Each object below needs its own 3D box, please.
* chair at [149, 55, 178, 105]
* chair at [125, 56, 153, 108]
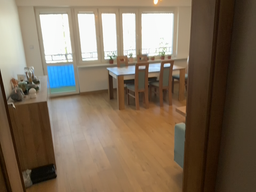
[{"bbox_3d":[0.780,-0.380,4.790,0.430,1.010,0.520,-8,19,-18],"label":"chair"},{"bbox_3d":[0.240,-0.320,4.640,0.440,1.010,0.530,-7,18,-16],"label":"chair"}]
